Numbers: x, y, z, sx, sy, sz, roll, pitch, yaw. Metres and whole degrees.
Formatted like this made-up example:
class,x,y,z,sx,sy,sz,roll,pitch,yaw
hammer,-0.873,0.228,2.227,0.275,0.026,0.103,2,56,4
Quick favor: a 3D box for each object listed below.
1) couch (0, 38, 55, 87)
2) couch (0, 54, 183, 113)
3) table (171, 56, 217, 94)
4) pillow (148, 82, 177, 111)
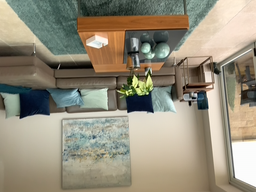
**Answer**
class,x,y,z,sx,sy,sz,roll,pitch,yaw
couch,-1.560,-0.390,2.710,1.030,0.410,0.710,-2,173,-3
couch,-0.710,-0.160,3.520,2.980,0.740,0.870,-2,173,-3
table,1.100,-0.330,3.680,0.510,0.490,0.760,-2,173,-1
pillow,0.570,0.020,3.600,0.400,0.440,0.400,-2,173,-1
